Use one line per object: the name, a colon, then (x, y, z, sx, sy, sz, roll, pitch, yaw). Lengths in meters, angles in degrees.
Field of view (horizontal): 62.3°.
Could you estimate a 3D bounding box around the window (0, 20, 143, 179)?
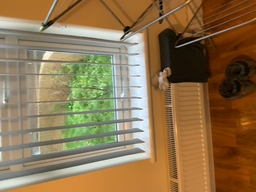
window: (-0.670, 0.010, 1.320, 0.060, 1.750, 0.930, -6, 87, 60)
